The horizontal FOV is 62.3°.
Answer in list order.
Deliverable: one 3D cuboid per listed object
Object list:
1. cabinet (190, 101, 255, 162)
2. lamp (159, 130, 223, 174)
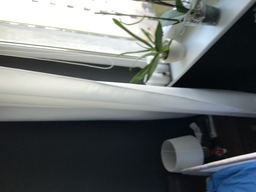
[{"bbox_3d":[0.910,0.330,1.880,0.420,0.480,0.420,127,143,-61],"label":"cabinet"},{"bbox_3d":[0.510,0.470,1.770,0.270,0.380,0.310,128,141,-62],"label":"lamp"}]
